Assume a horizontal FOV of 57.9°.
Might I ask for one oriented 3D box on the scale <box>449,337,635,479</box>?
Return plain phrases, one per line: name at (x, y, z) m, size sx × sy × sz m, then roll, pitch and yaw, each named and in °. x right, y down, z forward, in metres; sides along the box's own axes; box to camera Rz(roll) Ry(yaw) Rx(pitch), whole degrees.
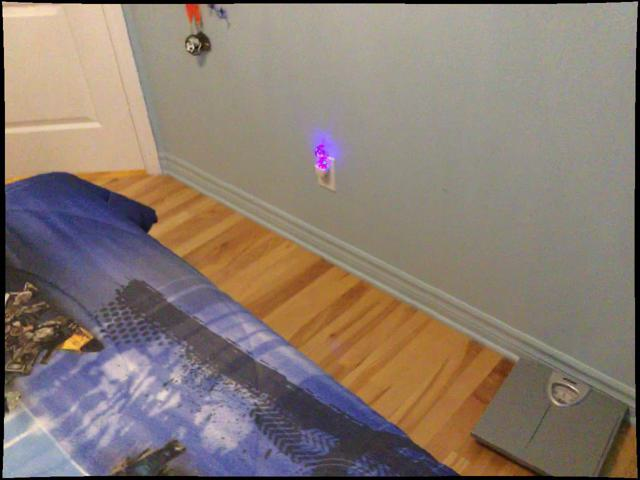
scale at (0.539, 0.420, 1.410) m, size 0.330 × 0.050 × 0.310 m, roll 24°, pitch 47°, yaw 32°
